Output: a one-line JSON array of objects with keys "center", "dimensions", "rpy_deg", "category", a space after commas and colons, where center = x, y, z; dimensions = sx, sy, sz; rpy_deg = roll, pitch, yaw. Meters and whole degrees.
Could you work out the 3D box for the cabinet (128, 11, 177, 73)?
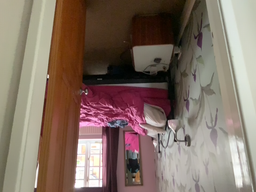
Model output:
[{"center": [0.220, -0.540, 2.240], "dimensions": [0.430, 0.390, 0.550], "rpy_deg": [-1, 162, -1], "category": "cabinet"}]
